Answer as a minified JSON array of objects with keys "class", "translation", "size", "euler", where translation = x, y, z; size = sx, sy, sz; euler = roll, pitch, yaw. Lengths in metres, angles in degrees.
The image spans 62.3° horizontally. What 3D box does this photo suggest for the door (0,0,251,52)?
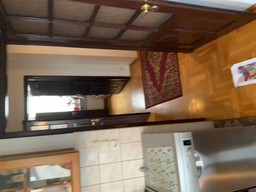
[{"class":"door","translation":[-0.010,-0.610,1.920],"size":[0.880,1.980,0.120],"euler":[169,99,-69]}]
